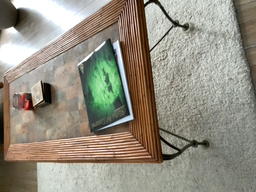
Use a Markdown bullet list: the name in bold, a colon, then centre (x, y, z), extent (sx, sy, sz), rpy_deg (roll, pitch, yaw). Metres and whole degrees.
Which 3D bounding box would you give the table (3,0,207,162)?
- **table**: centre (-0.260, 0.020, 1.210), extent (1.180, 0.420, 0.610), rpy_deg (-14, 77, 39)
